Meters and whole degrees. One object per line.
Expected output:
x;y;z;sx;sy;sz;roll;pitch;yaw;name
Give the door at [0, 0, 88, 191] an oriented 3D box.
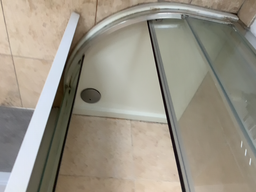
-0.370;0.590;0.410;0.140;2.140;0.800;17;131;-19;door
